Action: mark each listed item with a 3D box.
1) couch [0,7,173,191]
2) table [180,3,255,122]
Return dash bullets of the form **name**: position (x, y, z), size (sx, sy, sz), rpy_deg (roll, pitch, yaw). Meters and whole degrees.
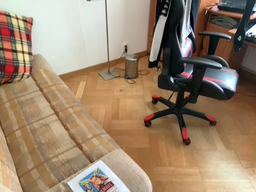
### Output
- **couch**: position (-0.760, 0.090, 1.480), size (0.910, 0.860, 1.890), rpy_deg (-22, 42, -30)
- **table**: position (1.320, -0.380, 2.250), size (0.690, 0.840, 1.200), rpy_deg (-23, 43, -31)
